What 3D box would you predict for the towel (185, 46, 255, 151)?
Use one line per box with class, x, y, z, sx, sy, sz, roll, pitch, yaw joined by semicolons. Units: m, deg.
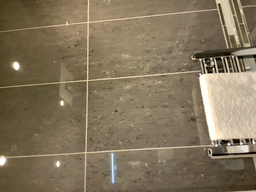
towel;0.630;-0.010;0.730;0.130;0.790;0.330;77;-171;-68
